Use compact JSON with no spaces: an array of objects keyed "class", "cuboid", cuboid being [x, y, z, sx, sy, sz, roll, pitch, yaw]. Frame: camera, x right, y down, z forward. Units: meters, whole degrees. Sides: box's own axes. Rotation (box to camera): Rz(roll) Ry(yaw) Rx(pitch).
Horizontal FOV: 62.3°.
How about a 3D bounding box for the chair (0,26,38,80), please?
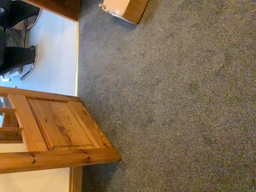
[{"class":"chair","cuboid":[-1.680,-0.560,2.650,0.550,0.870,0.430,-18,70,43]}]
